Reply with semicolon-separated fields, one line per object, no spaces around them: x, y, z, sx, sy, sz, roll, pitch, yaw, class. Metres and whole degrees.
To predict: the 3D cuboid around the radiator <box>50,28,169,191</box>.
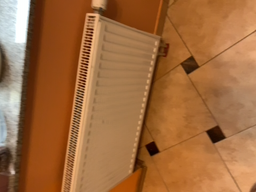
-0.050;0.130;1.090;0.120;0.670;0.790;17;103;29;radiator
